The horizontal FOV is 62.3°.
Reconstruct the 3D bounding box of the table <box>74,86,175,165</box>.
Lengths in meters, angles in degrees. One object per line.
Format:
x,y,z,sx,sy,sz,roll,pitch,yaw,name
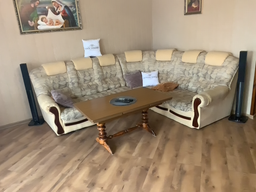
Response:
-0.030,0.330,2.980,1.190,0.600,0.680,-14,22,-27,table
